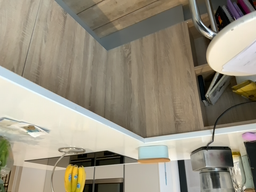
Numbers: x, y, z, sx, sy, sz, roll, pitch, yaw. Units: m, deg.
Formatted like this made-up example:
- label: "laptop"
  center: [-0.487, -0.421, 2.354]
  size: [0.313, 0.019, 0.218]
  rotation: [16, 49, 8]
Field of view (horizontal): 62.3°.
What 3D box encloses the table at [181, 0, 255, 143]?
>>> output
- label: "table"
  center: [0.670, -0.250, 1.170]
  size: [0.590, 0.910, 0.220]
  rotation: [-14, 152, 26]
